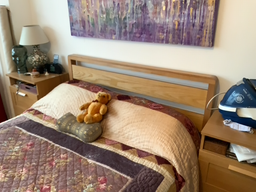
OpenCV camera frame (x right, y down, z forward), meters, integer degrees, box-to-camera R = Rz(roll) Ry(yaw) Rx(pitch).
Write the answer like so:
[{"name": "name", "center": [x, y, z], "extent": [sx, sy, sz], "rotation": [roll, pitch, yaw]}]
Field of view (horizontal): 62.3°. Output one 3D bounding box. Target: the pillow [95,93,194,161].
[{"name": "pillow", "center": [0.130, 0.180, 1.550], "extent": [0.550, 0.170, 0.470], "rotation": [13, 25, 29]}]

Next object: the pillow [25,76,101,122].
[{"name": "pillow", "center": [-0.570, 0.000, 1.890], "extent": [0.540, 0.200, 0.350], "rotation": [12, 25, 27]}]

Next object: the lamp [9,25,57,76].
[{"name": "lamp", "center": [-1.020, -0.510, 2.320], "extent": [0.280, 0.490, 0.310], "rotation": [14, 26, 30]}]
